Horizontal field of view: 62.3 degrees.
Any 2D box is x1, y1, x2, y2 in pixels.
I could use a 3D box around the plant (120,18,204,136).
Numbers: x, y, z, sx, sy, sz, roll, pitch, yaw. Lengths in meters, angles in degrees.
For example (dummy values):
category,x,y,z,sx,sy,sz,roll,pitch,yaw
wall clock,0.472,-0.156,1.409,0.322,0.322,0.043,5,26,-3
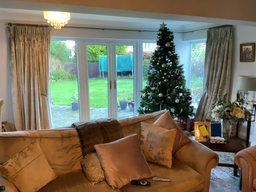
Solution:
category,x,y,z,sx,sy,sz,roll,pitch,yaw
plant,0.720,-0.470,4.910,1.310,2.240,1.330,-7,12,-30
